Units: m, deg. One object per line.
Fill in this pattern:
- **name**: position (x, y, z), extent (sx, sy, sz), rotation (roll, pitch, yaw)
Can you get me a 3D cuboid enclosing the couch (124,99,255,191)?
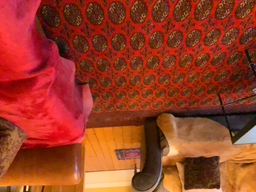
- **couch**: position (1.240, 0.700, 2.540), extent (2.510, 0.900, 1.090), rotation (-3, 150, -1)
